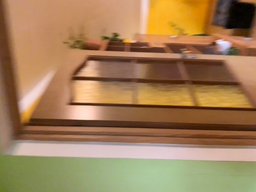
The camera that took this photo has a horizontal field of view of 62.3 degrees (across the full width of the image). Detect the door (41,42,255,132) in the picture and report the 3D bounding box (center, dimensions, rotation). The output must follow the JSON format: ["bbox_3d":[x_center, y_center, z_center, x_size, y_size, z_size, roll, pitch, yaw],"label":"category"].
[{"bbox_3d":[0.620,-0.110,1.420,0.870,2.070,0.120,-92,4,-56],"label":"door"}]

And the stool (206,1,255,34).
[{"bbox_3d":[1.350,-1.090,2.890,0.780,0.240,0.360,-93,6,-66],"label":"stool"}]
